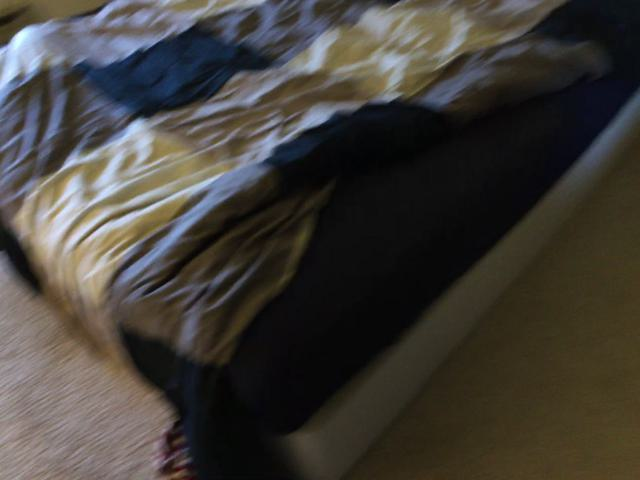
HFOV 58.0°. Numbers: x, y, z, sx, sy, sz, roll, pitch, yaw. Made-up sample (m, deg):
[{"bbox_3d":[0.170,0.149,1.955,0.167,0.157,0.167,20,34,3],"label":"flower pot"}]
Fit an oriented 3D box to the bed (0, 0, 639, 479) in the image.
[{"bbox_3d":[0.020,-0.490,1.810,1.790,0.520,2.170,29,54,34],"label":"bed"}]
